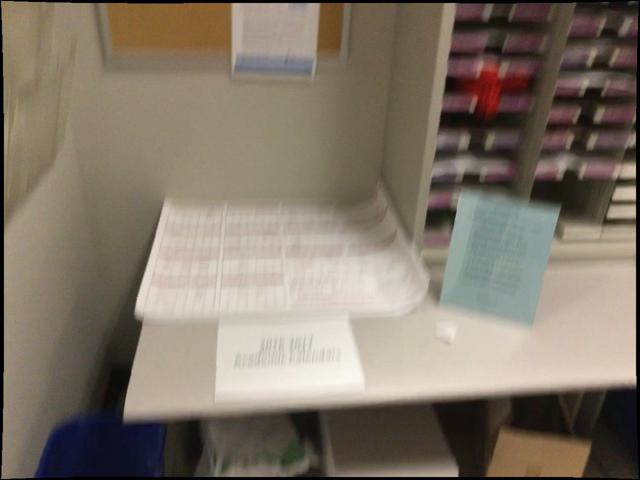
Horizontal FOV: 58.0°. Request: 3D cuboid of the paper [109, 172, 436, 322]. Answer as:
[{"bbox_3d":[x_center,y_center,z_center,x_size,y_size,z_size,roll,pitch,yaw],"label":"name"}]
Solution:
[{"bbox_3d":[-0.110,-0.010,1.440,0.678,0.110,0.500,-1,32,-4],"label":"paper"}]
